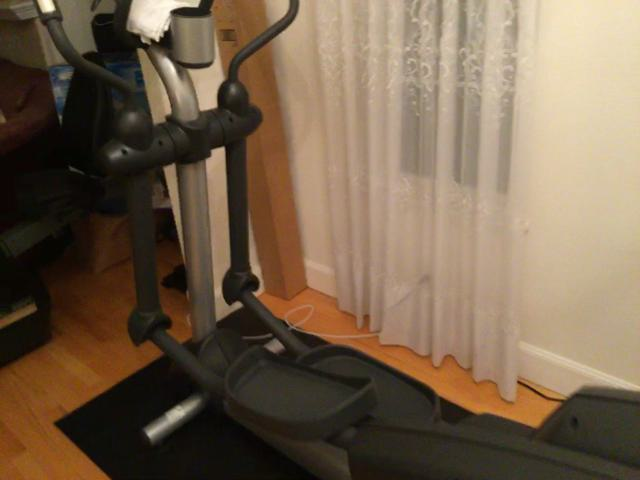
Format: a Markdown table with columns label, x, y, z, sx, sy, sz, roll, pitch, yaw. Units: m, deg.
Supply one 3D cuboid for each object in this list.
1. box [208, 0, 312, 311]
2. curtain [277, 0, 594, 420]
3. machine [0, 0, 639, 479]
| label | x | y | z | sx | sy | sz | roll | pitch | yaw |
| --- | --- | --- | --- | --- | --- | --- | --- | --- | --- |
| box | -0.220 | -0.380 | 2.270 | 0.160 | 1.380 | 0.210 | 12 | 29 | 33 |
| curtain | 0.290 | -0.400 | 1.790 | 0.960 | 1.810 | 0.160 | 17 | 33 | 41 |
| machine | 0.090 | -0.070 | 1.080 | 2.140 | 1.970 | 0.960 | 16 | 32 | 39 |
